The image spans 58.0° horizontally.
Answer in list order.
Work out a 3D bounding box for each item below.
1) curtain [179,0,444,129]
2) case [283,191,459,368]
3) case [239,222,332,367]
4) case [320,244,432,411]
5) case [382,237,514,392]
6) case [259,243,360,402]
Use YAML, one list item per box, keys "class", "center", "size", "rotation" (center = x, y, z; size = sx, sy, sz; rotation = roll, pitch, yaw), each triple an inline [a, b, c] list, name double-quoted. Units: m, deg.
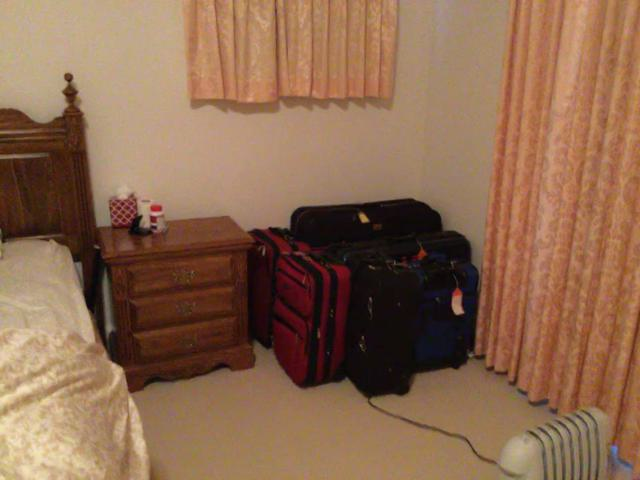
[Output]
- class: "curtain"
  center: [-0.010, -1.080, 2.740]
  size: [1.250, 1.000, 0.270]
  rotation: [-8, 17, -23]
- class: "case"
  center: [0.270, 0.180, 3.140]
  size: [0.820, 0.760, 0.430]
  rotation: [-7, 16, -20]
- class: "case"
  center: [-0.180, 0.260, 2.980]
  size: [0.330, 0.600, 0.410]
  rotation: [-8, 17, -23]
- class: "case"
  center: [0.240, 0.370, 2.600]
  size: [0.330, 0.590, 0.400]
  rotation: [-8, 17, -23]
- class: "case"
  center: [0.590, 0.330, 2.720]
  size: [0.500, 0.570, 0.310]
  rotation: [-8, 17, -23]
- class: "case"
  center: [-0.050, 0.360, 2.670]
  size: [0.320, 0.580, 0.390]
  rotation: [-8, 17, -23]
